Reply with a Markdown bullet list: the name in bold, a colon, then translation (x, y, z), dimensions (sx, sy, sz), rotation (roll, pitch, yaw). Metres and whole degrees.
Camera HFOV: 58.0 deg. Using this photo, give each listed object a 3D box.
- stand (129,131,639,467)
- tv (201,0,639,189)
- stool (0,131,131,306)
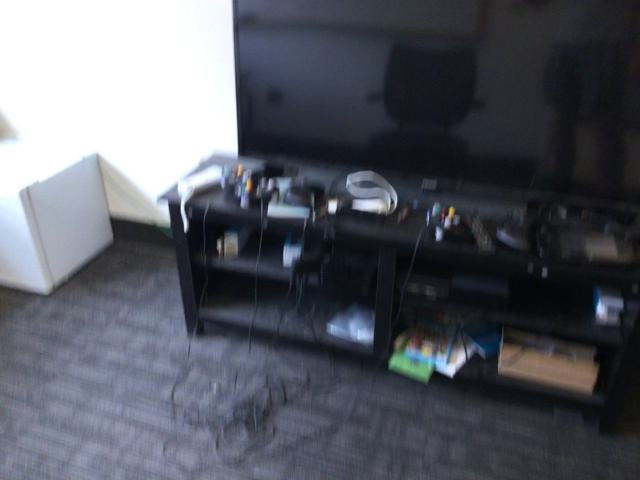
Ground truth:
- **stand**: translation (0.240, 0.100, 1.840), dimensions (1.480, 0.680, 0.530), rotation (7, 31, 20)
- **tv**: translation (0.300, -0.490, 1.540), dimensions (1.240, 0.700, 0.140), rotation (2, 29, 23)
- **stool**: translation (-1.180, -0.110, 2.360), dimensions (0.500, 0.520, 0.460), rotation (7, 31, 20)
